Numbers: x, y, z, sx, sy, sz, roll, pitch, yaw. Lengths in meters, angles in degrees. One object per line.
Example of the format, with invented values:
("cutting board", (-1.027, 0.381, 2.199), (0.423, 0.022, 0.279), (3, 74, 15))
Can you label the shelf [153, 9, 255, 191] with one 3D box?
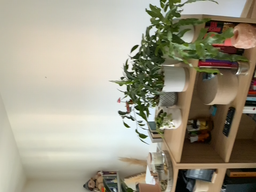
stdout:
("shelf", (0.770, 0.360, 1.410), (0.320, 1.050, 1.640), (-107, 21, -69))
